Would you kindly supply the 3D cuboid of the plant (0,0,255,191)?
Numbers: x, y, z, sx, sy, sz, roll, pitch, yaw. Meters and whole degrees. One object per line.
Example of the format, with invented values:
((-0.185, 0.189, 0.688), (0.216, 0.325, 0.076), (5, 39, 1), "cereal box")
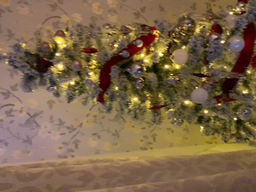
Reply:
((0.210, -0.030, 1.010), (0.890, 1.860, 0.940), (168, 101, -73), "plant")
